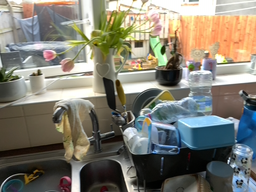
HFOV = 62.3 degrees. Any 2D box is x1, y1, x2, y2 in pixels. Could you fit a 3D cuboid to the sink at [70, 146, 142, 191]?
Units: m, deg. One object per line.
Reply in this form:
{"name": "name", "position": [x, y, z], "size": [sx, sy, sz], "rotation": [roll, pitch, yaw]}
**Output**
{"name": "sink", "position": [-0.080, 0.370, 0.760], "size": [0.230, 0.150, 0.390], "rotation": [-6, 21, -12]}
